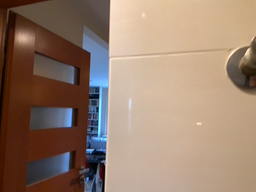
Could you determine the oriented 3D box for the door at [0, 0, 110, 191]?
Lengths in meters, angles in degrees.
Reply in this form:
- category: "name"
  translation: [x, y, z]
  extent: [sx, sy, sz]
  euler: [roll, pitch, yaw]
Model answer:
- category: "door"
  translation: [-0.460, 0.580, 1.290]
  extent: [0.170, 1.990, 0.930]
  euler: [0, -5, 25]
